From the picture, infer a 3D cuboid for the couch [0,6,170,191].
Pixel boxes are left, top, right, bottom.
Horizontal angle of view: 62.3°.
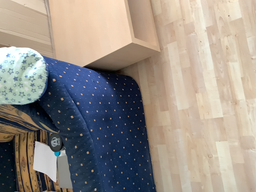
[{"bbox_3d":[-0.670,0.310,1.450,1.450,1.020,0.970,-13,81,36],"label":"couch"}]
